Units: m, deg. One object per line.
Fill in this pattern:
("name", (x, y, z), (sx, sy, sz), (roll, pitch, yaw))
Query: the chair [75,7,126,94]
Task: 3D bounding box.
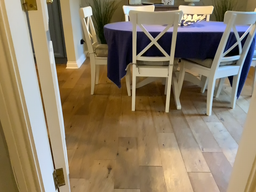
("chair", (-0.270, -0.520, 2.420), (0.490, 0.900, 0.430), (0, 25, -1))
